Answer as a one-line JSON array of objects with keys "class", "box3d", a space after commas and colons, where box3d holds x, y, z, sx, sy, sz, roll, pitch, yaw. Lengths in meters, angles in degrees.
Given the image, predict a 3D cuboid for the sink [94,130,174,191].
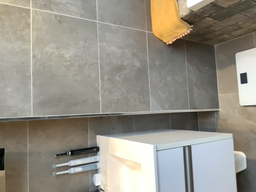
[{"class": "sink", "box3d": [0.000, 0.490, 0.970, 0.490, 0.110, 0.620, -6, 85, 58]}]
